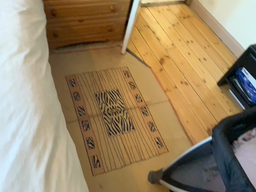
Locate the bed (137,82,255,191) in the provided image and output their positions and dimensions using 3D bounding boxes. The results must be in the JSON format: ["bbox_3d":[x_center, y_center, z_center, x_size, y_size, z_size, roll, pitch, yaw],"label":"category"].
[{"bbox_3d":[0.730,0.450,1.120,0.960,0.710,0.820,-17,62,-24],"label":"bed"}]

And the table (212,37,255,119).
[{"bbox_3d":[1.170,-0.180,1.830,0.510,0.480,0.460,-14,61,-23],"label":"table"}]
